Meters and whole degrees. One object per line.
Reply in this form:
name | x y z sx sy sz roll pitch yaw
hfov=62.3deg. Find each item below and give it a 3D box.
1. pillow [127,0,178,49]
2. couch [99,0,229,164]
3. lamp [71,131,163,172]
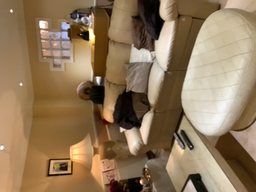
pillow | 0.230 -0.920 2.350 0.580 0.290 0.490 110 154 -51
couch | 0.220 -0.280 2.940 1.010 0.980 2.360 -111 25 -51
lamp | -0.200 0.920 3.610 0.330 1.480 0.450 -113 26 -52
